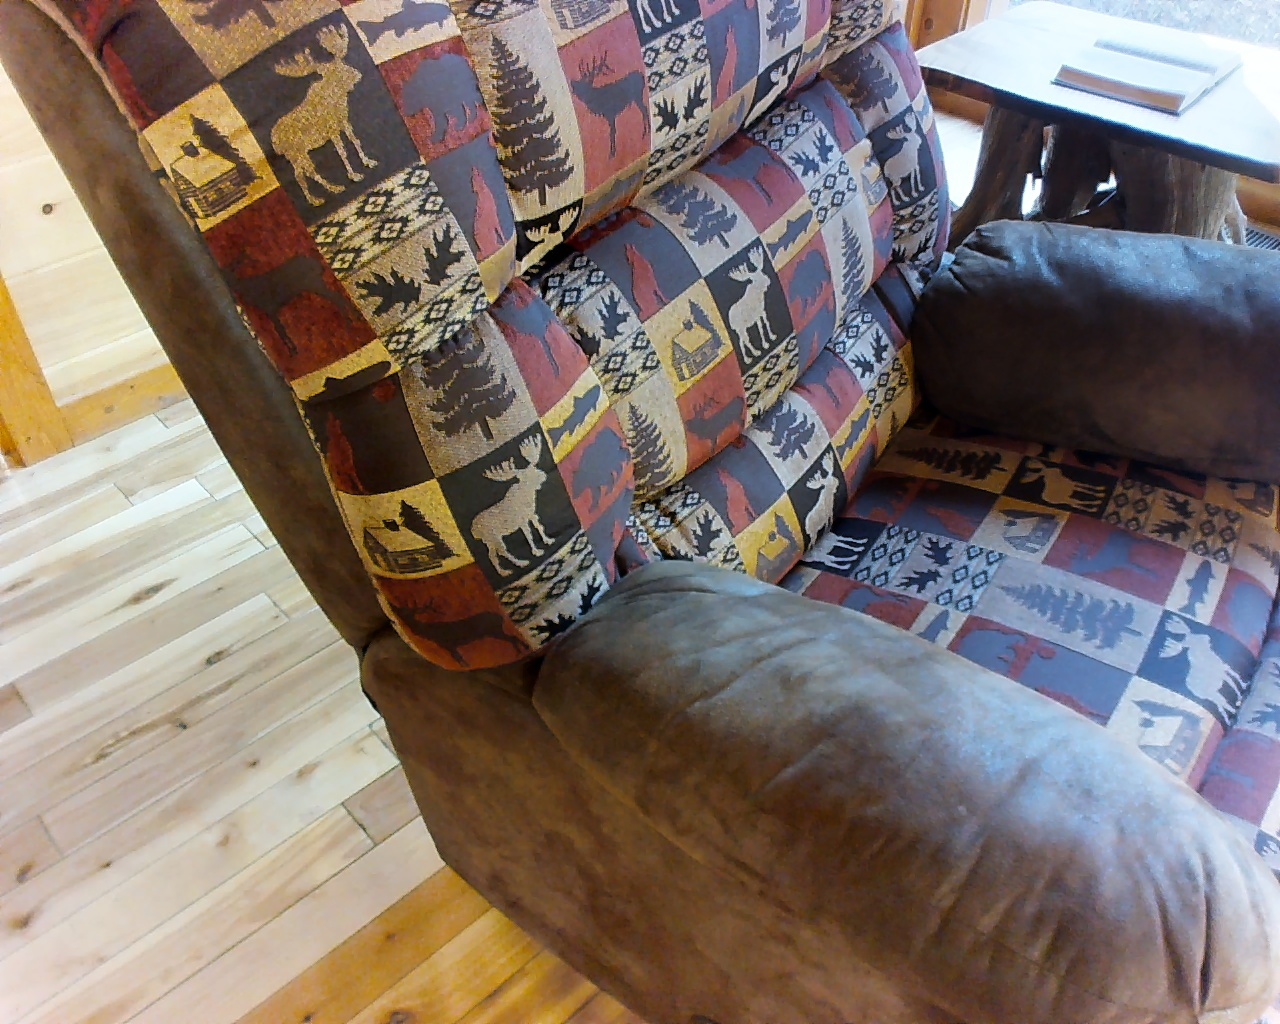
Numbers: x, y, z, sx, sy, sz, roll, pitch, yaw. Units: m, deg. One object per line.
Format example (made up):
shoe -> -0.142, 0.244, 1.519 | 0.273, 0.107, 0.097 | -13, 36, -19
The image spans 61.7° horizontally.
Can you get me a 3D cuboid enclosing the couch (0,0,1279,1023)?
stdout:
couch -> 0.230, -0.120, 1.040 | 1.250, 1.140, 1.070 | 23, 47, 23
